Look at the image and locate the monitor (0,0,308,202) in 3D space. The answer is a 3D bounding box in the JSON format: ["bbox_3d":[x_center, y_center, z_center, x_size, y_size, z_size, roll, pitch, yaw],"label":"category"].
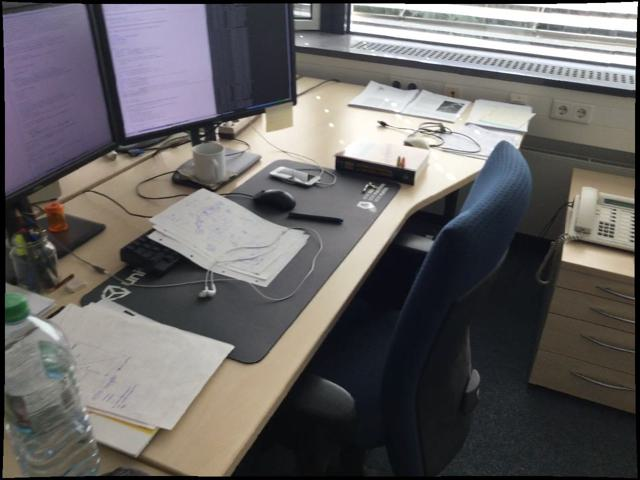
[{"bbox_3d":[-0.370,-0.440,1.460,0.180,0.430,0.770,28,40,36],"label":"monitor"}]

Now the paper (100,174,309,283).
[{"bbox_3d":[-0.260,-0.040,1.330,0.410,0.060,0.230,14,34,20],"label":"paper"}]

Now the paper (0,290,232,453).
[{"bbox_3d":[-0.340,0.200,0.970,0.290,0.030,0.250,14,34,20],"label":"paper"}]
